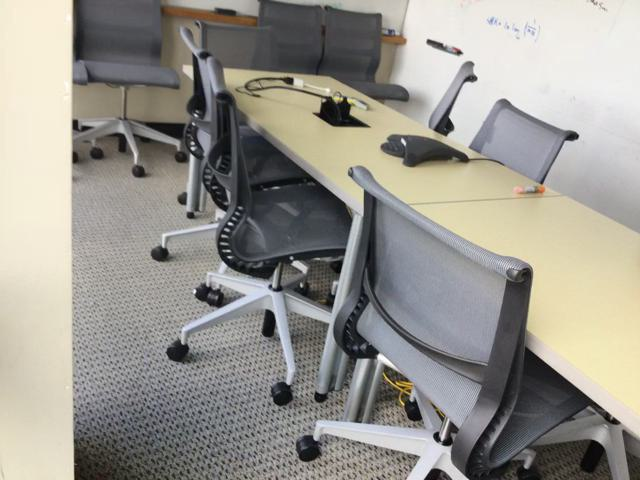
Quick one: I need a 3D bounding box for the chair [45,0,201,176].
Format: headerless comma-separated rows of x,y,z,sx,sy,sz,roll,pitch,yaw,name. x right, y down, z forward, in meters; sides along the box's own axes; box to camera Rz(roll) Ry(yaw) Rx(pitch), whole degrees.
-1.090,-0.920,3.160,0.660,0.950,0.590,-6,31,-29,chair

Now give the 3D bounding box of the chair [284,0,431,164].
0.220,-1.070,3.920,0.640,0.930,0.570,-6,31,-29,chair

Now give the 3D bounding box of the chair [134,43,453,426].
-0.180,-0.080,1.930,0.680,0.920,0.780,-6,31,-29,chair

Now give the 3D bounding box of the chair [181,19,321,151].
-0.350,-0.740,2.760,0.480,0.480,0.470,-6,31,-29,chair

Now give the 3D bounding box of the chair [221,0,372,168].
-0.190,-1.020,3.700,0.650,0.930,0.610,-6,31,-29,chair
